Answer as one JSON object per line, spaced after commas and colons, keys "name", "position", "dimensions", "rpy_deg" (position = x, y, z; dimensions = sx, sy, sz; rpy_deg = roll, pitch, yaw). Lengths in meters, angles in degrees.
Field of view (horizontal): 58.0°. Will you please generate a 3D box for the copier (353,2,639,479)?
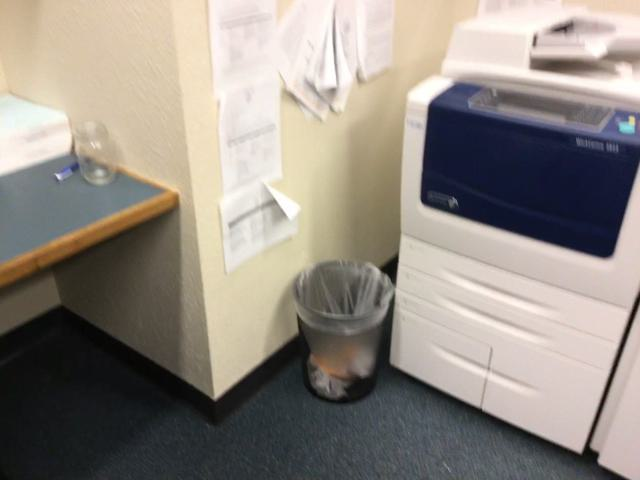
{"name": "copier", "position": [0.830, 0.030, 1.490], "dimensions": [1.330, 1.130, 0.620], "rpy_deg": [15, 33, 32]}
